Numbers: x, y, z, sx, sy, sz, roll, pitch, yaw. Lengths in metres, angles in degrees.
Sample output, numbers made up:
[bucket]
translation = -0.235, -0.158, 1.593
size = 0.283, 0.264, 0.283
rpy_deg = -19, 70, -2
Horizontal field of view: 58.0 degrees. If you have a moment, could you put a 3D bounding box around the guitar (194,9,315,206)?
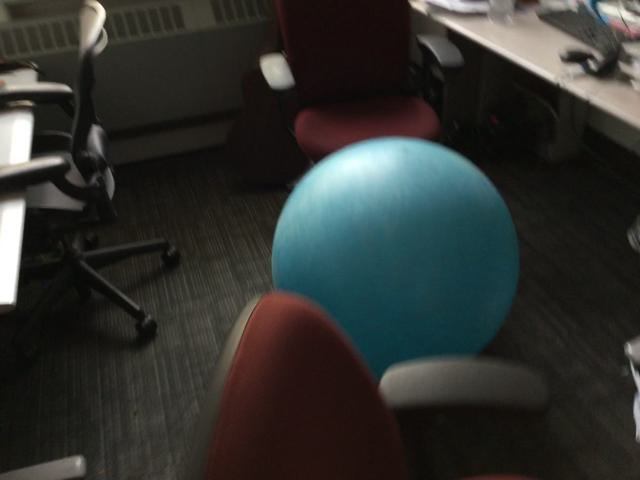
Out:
[guitar]
translation = -0.280, -0.580, 2.510
size = 0.340, 0.680, 0.440
rpy_deg = -14, 35, -14

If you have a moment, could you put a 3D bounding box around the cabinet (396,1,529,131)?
[cabinet]
translation = 0.650, -0.840, 2.750
size = 0.410, 0.430, 0.460
rpy_deg = -14, 35, -14
